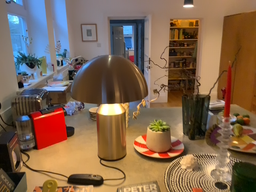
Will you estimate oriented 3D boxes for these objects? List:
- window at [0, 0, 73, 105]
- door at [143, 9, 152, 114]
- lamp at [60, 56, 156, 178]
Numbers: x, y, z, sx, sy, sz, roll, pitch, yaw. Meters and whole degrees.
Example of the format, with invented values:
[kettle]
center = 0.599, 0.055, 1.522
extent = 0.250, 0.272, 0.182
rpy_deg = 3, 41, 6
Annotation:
[window]
center = -1.230, -1.110, 2.720
extent = 0.430, 1.750, 2.600
rpy_deg = -2, 16, -4
[door]
center = 0.400, -0.700, 4.480
extent = 0.100, 2.020, 0.760
rpy_deg = 0, 16, 0
[lamp]
center = -0.080, 0.080, 0.990
extent = 0.360, 0.500, 0.250
rpy_deg = -2, 16, -4
